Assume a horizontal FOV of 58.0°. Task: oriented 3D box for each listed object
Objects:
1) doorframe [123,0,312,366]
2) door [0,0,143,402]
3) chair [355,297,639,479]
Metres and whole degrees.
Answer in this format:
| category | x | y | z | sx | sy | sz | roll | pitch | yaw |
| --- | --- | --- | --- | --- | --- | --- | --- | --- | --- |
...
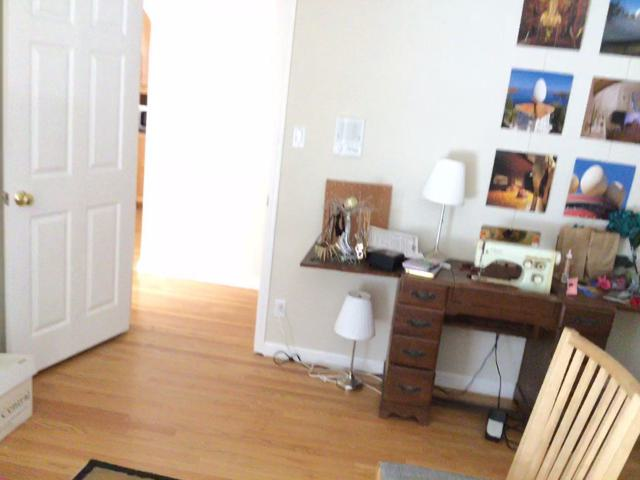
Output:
| category | x | y | z | sx | sy | sz | roll | pitch | yaw |
| --- | --- | --- | --- | --- | --- | --- | --- | --- | --- |
| doorframe | -0.580 | -0.420 | 3.160 | 0.890 | 2.140 | 0.240 | 7 | 12 | 8 |
| door | -1.240 | -0.400 | 2.760 | 0.390 | 2.080 | 0.820 | 7 | 12 | 8 |
| chair | 0.430 | 0.710 | 1.550 | 0.640 | 0.950 | 0.480 | 6 | 12 | 2 |
